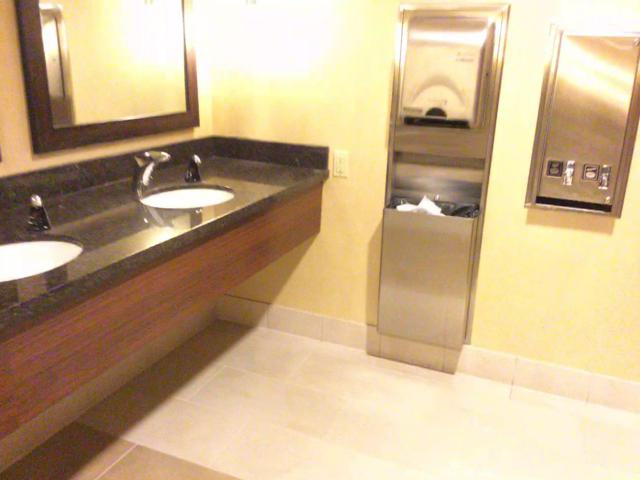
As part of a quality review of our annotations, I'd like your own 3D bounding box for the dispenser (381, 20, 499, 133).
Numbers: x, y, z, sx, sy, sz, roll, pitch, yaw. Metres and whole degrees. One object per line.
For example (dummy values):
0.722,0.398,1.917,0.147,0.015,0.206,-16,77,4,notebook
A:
0.460,-0.630,2.240,0.390,0.400,0.130,8,12,21,dispenser
